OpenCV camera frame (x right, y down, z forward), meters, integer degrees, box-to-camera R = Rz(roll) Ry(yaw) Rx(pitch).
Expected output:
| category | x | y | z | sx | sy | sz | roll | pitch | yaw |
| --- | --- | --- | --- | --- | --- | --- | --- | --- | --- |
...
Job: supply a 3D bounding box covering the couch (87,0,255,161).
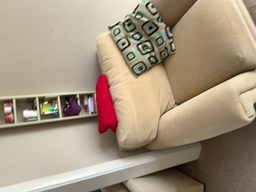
| category | x | y | z | sx | sy | sz | roll | pitch | yaw |
| --- | --- | --- | --- | --- | --- | --- | --- | --- | --- |
| couch | 0.350 | -0.260 | 1.580 | 0.930 | 0.870 | 1.170 | -39 | 60 | 55 |
